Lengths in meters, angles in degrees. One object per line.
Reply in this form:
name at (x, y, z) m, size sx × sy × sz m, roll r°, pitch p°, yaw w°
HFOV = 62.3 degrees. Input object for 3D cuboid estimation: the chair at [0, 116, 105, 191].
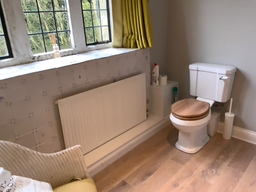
chair at (-0.470, 0.620, 1.220) m, size 0.570 × 0.720 × 0.610 m, roll -10°, pitch 22°, yaw -19°

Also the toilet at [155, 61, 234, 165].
toilet at (0.700, 0.120, 2.260) m, size 0.480 × 0.810 × 0.710 m, roll 17°, pitch 28°, yaw 41°
